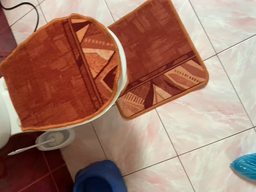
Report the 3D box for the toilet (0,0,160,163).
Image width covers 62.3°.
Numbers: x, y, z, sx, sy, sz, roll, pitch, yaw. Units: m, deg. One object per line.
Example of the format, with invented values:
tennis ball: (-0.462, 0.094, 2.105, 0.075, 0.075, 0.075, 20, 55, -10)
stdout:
toilet: (-0.320, -0.040, 0.770, 0.660, 0.750, 0.380, -26, 85, 17)
